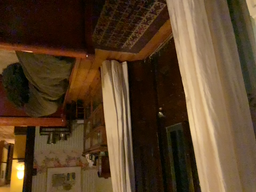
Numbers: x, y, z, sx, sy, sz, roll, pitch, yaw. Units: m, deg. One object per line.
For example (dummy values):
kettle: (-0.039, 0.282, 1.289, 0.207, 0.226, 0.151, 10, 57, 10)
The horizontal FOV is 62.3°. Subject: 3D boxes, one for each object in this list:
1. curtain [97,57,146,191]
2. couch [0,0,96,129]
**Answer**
curtain: (-0.070, 1.200, 2.490, 0.480, 3.450, 0.320, 3, 163, -20)
couch: (-0.800, -0.330, 1.650, 0.770, 0.930, 1.710, 2, 163, -19)
